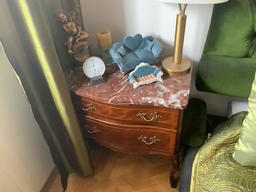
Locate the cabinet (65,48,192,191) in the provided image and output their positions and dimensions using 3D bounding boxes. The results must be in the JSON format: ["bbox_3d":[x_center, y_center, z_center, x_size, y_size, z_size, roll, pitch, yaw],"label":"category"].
[{"bbox_3d":[0.050,0.150,1.220,0.510,0.690,0.390,7,43,14],"label":"cabinet"}]
